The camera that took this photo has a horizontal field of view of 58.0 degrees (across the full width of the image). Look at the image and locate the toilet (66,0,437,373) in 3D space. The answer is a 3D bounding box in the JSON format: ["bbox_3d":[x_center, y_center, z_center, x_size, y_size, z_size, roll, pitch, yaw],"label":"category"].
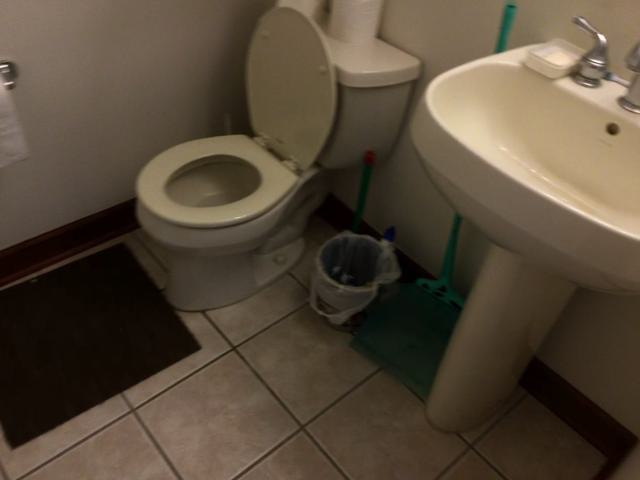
[{"bbox_3d":[-0.180,-0.210,1.570,0.670,0.780,0.510,-26,50,-33],"label":"toilet"}]
